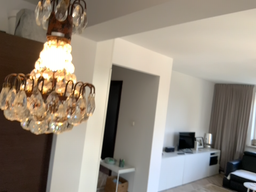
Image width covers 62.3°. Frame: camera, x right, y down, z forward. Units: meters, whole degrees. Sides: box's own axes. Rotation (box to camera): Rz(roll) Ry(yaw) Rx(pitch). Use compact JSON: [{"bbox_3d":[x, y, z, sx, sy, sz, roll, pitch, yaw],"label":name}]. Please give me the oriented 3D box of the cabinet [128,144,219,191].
[{"bbox_3d":[1.310,1.640,5.230,3.050,0.650,0.460,8,-2,-42],"label":"cabinet"}]
